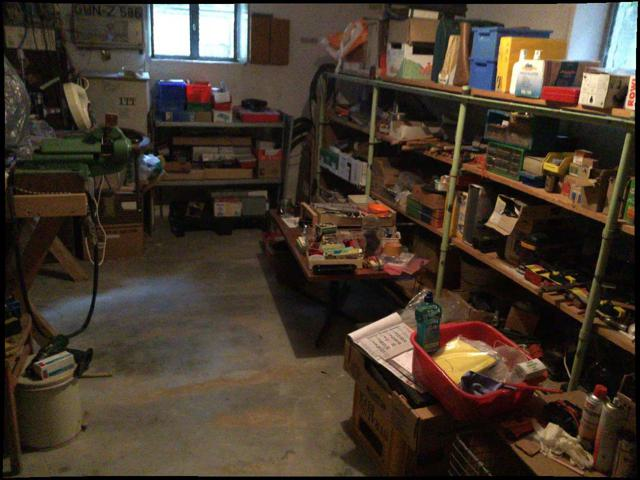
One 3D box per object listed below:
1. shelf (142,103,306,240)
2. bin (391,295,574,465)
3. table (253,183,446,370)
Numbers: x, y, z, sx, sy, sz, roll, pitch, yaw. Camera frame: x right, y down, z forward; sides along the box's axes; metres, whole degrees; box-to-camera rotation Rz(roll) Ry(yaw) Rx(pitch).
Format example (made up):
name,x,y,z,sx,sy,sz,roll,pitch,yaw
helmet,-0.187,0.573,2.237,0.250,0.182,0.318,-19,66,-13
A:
name,x,y,z,sx,sy,sz,roll,pitch,yaw
shelf,-0.809,-0.611,4.810,1.199,0.951,0.690,-5,21,-19
bin,0.539,0.460,2.020,0.410,0.350,0.420,-5,21,-19
table,0.080,0.120,3.360,0.659,0.571,1.270,-5,21,-19
